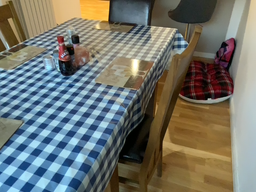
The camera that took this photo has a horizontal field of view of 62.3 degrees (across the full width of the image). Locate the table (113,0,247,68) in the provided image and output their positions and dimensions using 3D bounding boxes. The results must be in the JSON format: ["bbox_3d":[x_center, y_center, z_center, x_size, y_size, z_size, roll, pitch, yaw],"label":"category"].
[{"bbox_3d":[0.690,-1.130,3.080,1.600,0.930,0.820,11,36,15],"label":"table"}]
